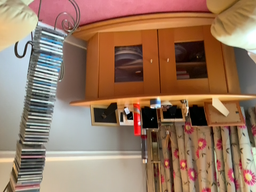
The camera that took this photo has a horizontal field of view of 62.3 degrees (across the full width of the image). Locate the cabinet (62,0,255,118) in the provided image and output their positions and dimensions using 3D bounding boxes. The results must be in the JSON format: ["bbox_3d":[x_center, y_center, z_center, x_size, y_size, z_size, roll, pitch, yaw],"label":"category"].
[{"bbox_3d":[0.260,-0.270,1.730,1.110,0.660,1.150,12,160,-40],"label":"cabinet"}]
